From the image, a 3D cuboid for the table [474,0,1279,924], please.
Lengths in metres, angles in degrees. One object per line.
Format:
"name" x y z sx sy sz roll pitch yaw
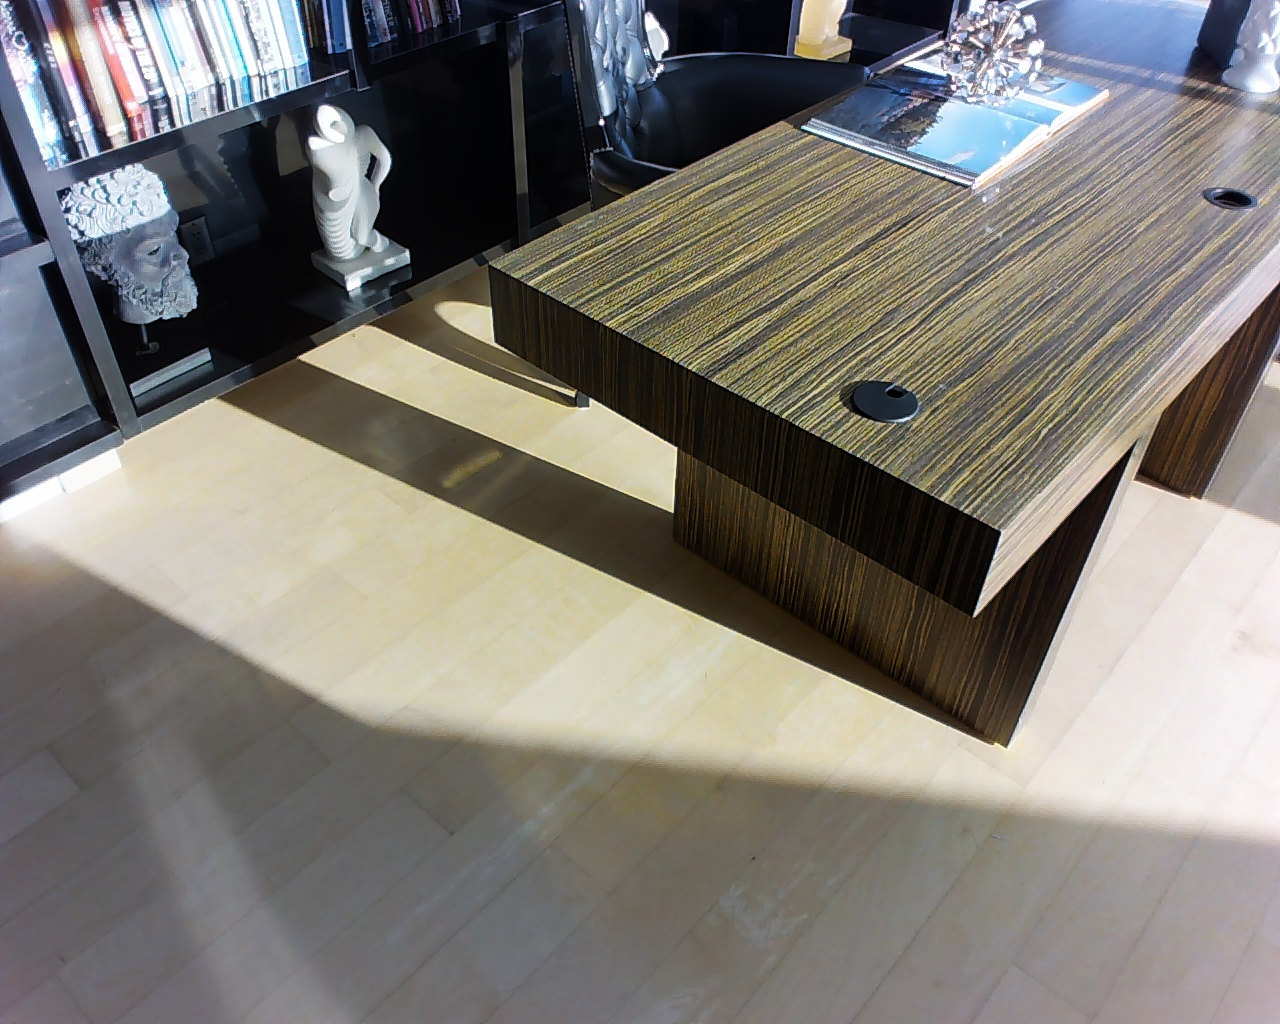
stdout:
"table" 0.700 -0.330 2.080 0.820 0.820 1.880 32 51 29
